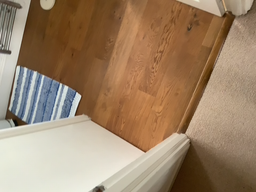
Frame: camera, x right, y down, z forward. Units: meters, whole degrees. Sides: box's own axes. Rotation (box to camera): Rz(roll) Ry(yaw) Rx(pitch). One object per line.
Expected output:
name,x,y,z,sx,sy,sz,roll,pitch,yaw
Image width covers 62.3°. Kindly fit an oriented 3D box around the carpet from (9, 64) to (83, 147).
carpet,-0.780,0.060,1.910,0.830,0.020,0.470,22,104,25
